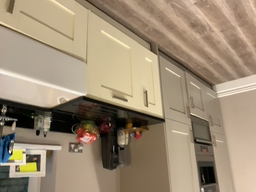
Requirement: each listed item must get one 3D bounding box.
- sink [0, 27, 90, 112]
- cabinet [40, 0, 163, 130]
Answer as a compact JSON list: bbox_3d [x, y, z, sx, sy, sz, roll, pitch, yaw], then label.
[{"bbox_3d":[-0.660,-0.110,1.370,0.540,0.230,0.610,-17,157,37],"label":"sink"},{"bbox_3d":[-0.210,-0.210,2.070,0.610,0.900,0.960,-17,157,37],"label":"cabinet"}]
